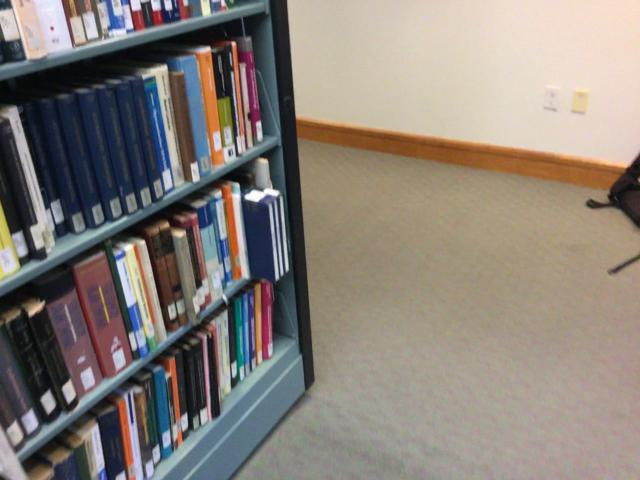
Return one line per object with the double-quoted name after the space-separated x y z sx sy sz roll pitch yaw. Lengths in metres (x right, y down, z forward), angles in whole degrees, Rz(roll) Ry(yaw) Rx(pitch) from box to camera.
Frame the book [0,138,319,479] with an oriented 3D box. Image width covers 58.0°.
-0.330 0.110 1.170 0.200 0.340 0.880 11 33 29 "book"
